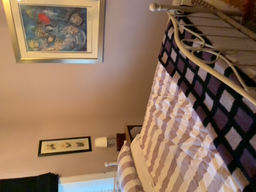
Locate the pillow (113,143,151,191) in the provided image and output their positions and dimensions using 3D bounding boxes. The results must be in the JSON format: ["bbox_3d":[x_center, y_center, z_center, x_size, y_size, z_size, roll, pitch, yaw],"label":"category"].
[{"bbox_3d":[0.010,0.910,2.370,0.570,0.240,0.470,-109,22,-49],"label":"pillow"}]
